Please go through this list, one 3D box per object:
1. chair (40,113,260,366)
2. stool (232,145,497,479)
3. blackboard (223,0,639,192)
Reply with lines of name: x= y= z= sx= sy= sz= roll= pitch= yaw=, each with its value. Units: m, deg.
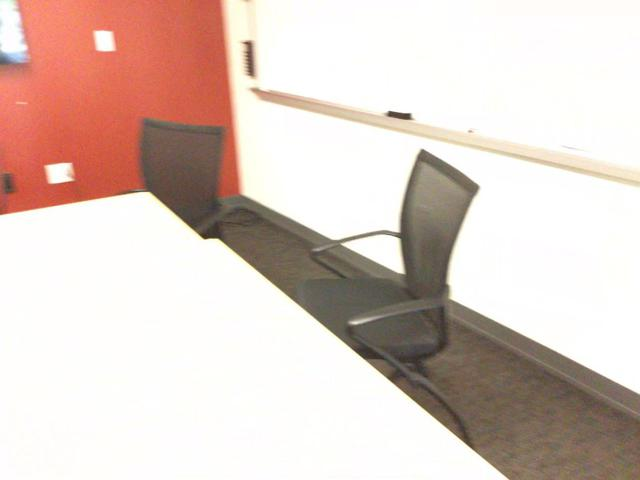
chair: x=-0.660 y=-0.050 z=2.460 sx=0.490 sy=0.860 sz=0.650 roll=6 pitch=22 yaw=22
stool: x=0.090 y=0.250 z=1.840 sx=0.610 sy=0.940 sz=0.670 roll=-6 pitch=21 yaw=-10
blackboard: x=0.350 y=-0.950 z=2.440 sx=0.110 sy=1.050 sz=3.290 roll=-15 pitch=24 yaw=-30
